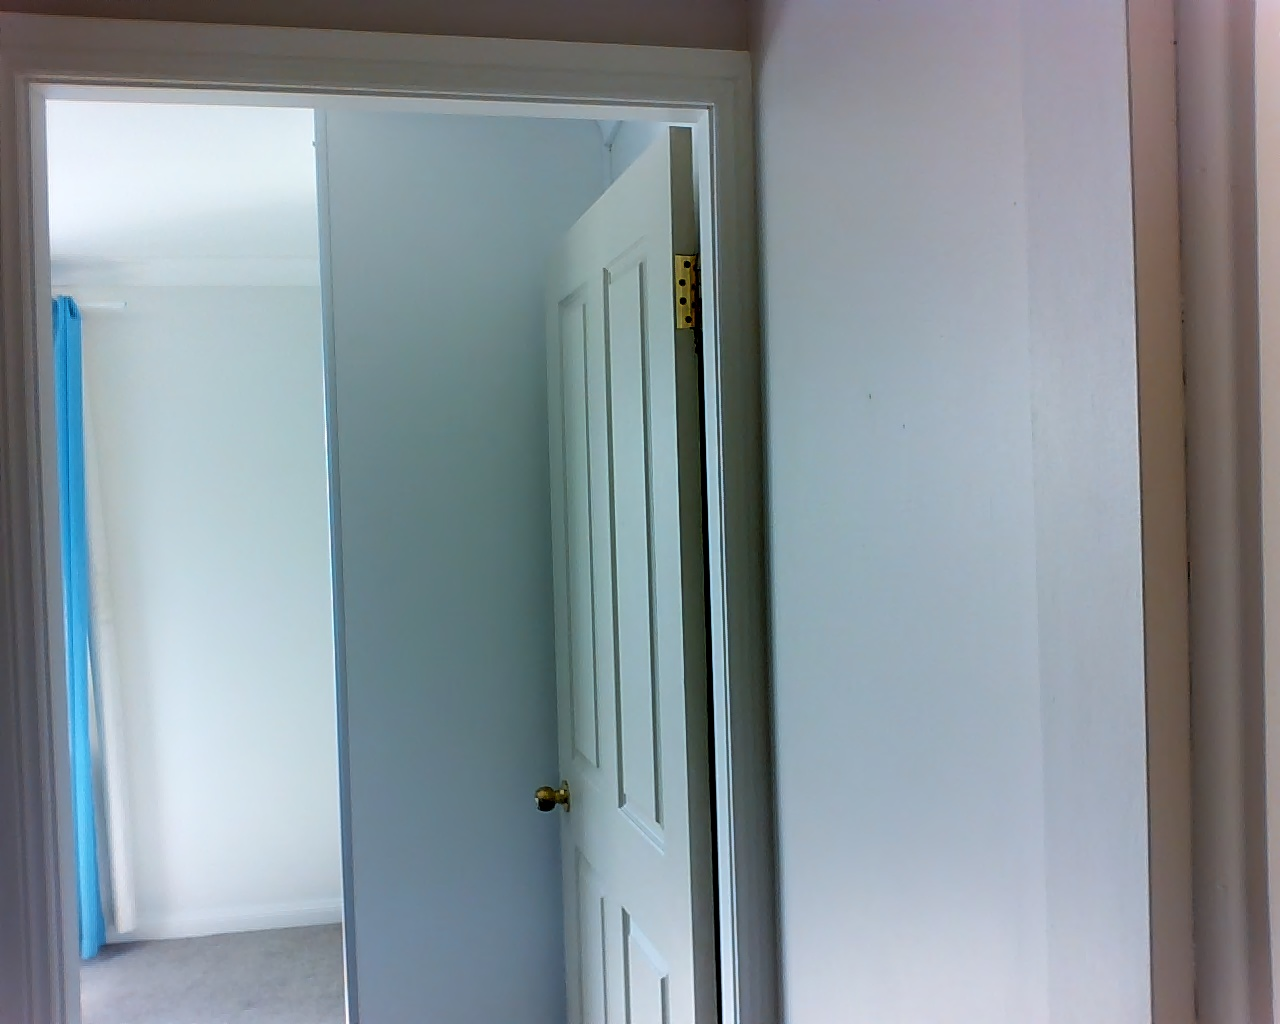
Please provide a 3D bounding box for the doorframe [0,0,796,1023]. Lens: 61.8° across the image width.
[{"bbox_3d":[-0.290,0.450,1.320,0.930,2.101,0.210,-2,1,-11],"label":"doorframe"}]
